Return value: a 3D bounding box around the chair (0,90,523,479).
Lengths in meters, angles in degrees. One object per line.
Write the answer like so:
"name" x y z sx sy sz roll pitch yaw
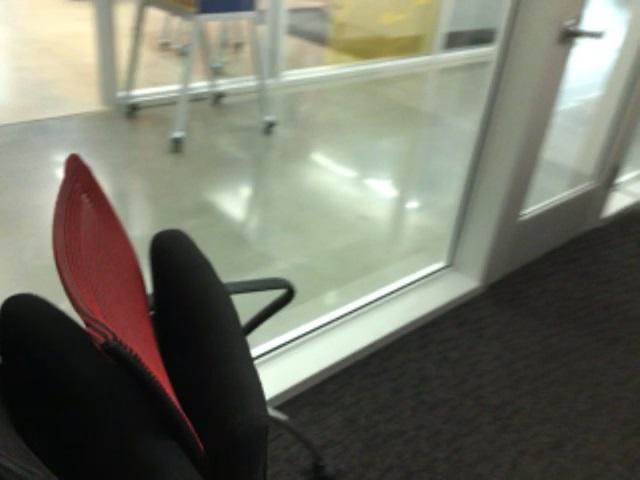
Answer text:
"chair" -0.310 0.260 0.910 0.900 0.760 0.650 -14 30 -25
